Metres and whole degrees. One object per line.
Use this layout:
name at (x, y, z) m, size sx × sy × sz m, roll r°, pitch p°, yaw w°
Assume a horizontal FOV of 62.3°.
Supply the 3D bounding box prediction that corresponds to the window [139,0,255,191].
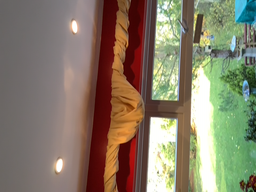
window at (0.670, 0.160, 1.580) m, size 0.030 × 1.100 × 2.450 m, roll 45°, pitch -131°, yaw -77°
